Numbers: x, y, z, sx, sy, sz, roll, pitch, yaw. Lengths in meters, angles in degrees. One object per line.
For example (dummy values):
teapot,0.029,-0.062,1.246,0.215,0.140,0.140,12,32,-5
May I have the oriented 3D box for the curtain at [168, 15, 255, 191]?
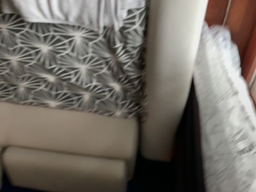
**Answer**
curtain,0.320,0.520,0.360,0.330,2.490,0.490,12,128,0
